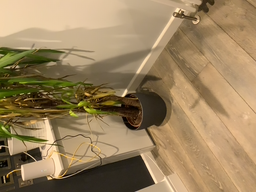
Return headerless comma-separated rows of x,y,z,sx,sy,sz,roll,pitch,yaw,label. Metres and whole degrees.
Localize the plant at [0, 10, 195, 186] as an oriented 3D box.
-0.480,0.080,1.230,0.940,1.480,0.400,-57,49,39,plant
